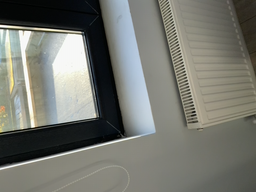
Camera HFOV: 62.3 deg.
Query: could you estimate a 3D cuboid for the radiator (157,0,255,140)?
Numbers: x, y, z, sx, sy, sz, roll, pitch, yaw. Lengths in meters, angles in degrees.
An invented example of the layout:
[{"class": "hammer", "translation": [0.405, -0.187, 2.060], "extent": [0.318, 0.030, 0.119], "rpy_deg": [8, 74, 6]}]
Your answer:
[{"class": "radiator", "translation": [0.370, -0.480, 1.050], "extent": [0.060, 0.580, 1.280], "rpy_deg": [-21, 77, 55]}]
